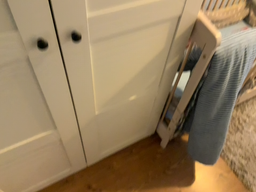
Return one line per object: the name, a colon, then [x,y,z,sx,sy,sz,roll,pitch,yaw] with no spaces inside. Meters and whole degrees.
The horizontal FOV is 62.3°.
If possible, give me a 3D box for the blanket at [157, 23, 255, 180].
blanket: [0.470,0.110,1.160,0.330,0.900,0.310,-21,58,-20]
